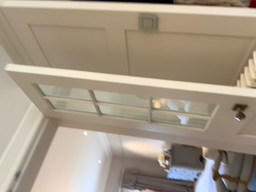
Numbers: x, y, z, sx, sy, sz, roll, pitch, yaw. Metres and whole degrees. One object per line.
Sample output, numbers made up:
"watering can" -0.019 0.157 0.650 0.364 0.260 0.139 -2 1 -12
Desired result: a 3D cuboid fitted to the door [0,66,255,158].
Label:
"door" 0.330 0.160 1.290 0.650 2.150 0.060 84 -165 -57
